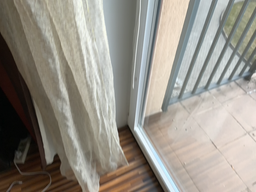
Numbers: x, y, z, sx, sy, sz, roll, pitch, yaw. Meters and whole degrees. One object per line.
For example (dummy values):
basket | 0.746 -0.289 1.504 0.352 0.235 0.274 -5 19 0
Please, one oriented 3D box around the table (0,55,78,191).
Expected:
table | -0.890 0.290 1.080 1.070 0.520 0.540 -19 54 -19
